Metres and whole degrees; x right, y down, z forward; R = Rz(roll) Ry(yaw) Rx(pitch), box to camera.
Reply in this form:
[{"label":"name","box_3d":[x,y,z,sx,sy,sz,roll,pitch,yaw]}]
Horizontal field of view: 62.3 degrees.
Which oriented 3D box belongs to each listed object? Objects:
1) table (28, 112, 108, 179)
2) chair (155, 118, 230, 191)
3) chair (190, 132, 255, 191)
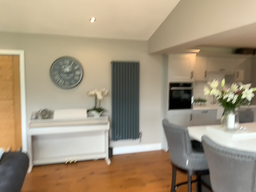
[{"label":"table","box_3d":[-1.090,0.880,3.990,1.400,1.090,0.230,-1,5,-19]},{"label":"chair","box_3d":[0.700,0.820,2.420,0.580,1.030,0.550,-1,5,-17]},{"label":"chair","box_3d":[0.910,0.880,1.710,0.590,1.030,0.550,-1,5,-17]}]
